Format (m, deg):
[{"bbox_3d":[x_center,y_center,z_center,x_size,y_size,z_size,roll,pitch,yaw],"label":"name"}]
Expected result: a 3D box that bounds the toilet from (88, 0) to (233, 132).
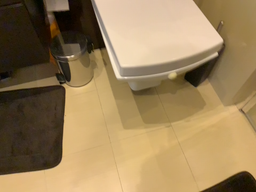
[{"bbox_3d":[0.070,-0.220,0.970,0.380,0.460,0.550,-13,60,-9],"label":"toilet"}]
